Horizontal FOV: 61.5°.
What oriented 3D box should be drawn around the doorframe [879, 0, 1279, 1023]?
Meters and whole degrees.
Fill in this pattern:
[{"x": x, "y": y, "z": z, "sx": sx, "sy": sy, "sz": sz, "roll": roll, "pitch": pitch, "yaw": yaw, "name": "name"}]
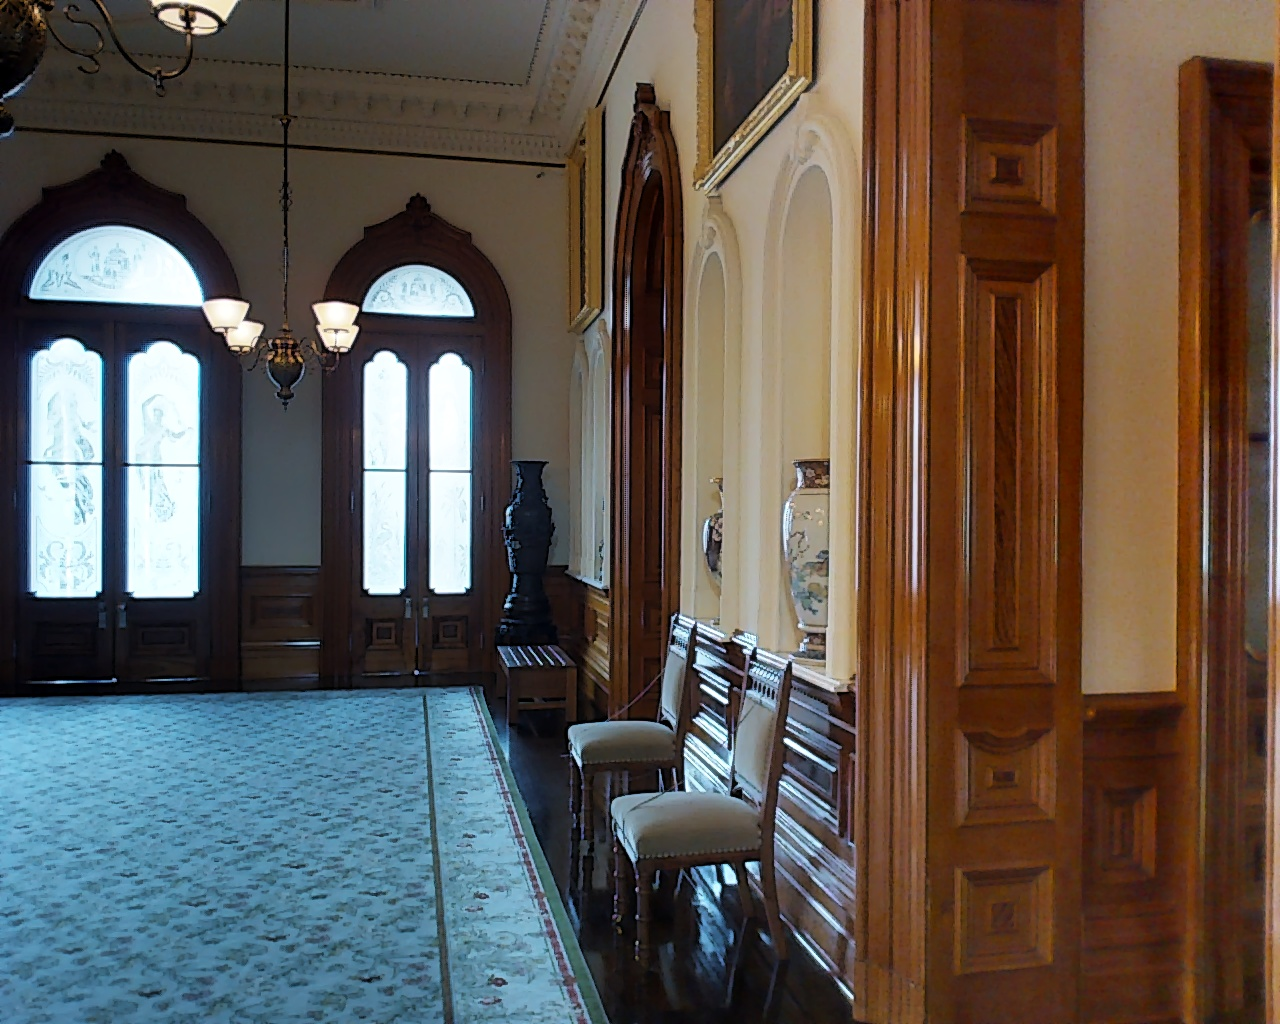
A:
[{"x": 1.250, "y": -0.430, "z": 2.570, "sx": 0.740, "sy": 3.941, "sz": 1.590, "roll": 0, "pitch": 0, "yaw": -12, "name": "doorframe"}]
